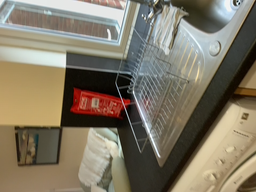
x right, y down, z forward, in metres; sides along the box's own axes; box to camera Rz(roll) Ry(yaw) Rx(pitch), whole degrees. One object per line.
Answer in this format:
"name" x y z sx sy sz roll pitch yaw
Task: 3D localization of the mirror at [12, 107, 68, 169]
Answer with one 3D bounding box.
"mirror" -1.460 0.760 3.550 0.130 0.760 1.410 -108 29 -47
